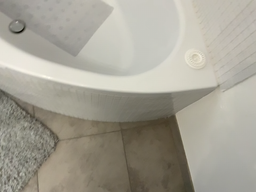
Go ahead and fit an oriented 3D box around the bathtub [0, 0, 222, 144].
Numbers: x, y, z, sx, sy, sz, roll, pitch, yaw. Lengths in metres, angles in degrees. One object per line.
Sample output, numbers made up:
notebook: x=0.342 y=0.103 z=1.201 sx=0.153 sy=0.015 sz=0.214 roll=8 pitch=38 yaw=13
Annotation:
bathtub: x=-0.480 y=-0.520 z=1.040 sx=1.320 sy=0.550 sz=1.370 roll=-7 pitch=74 yaw=-11
